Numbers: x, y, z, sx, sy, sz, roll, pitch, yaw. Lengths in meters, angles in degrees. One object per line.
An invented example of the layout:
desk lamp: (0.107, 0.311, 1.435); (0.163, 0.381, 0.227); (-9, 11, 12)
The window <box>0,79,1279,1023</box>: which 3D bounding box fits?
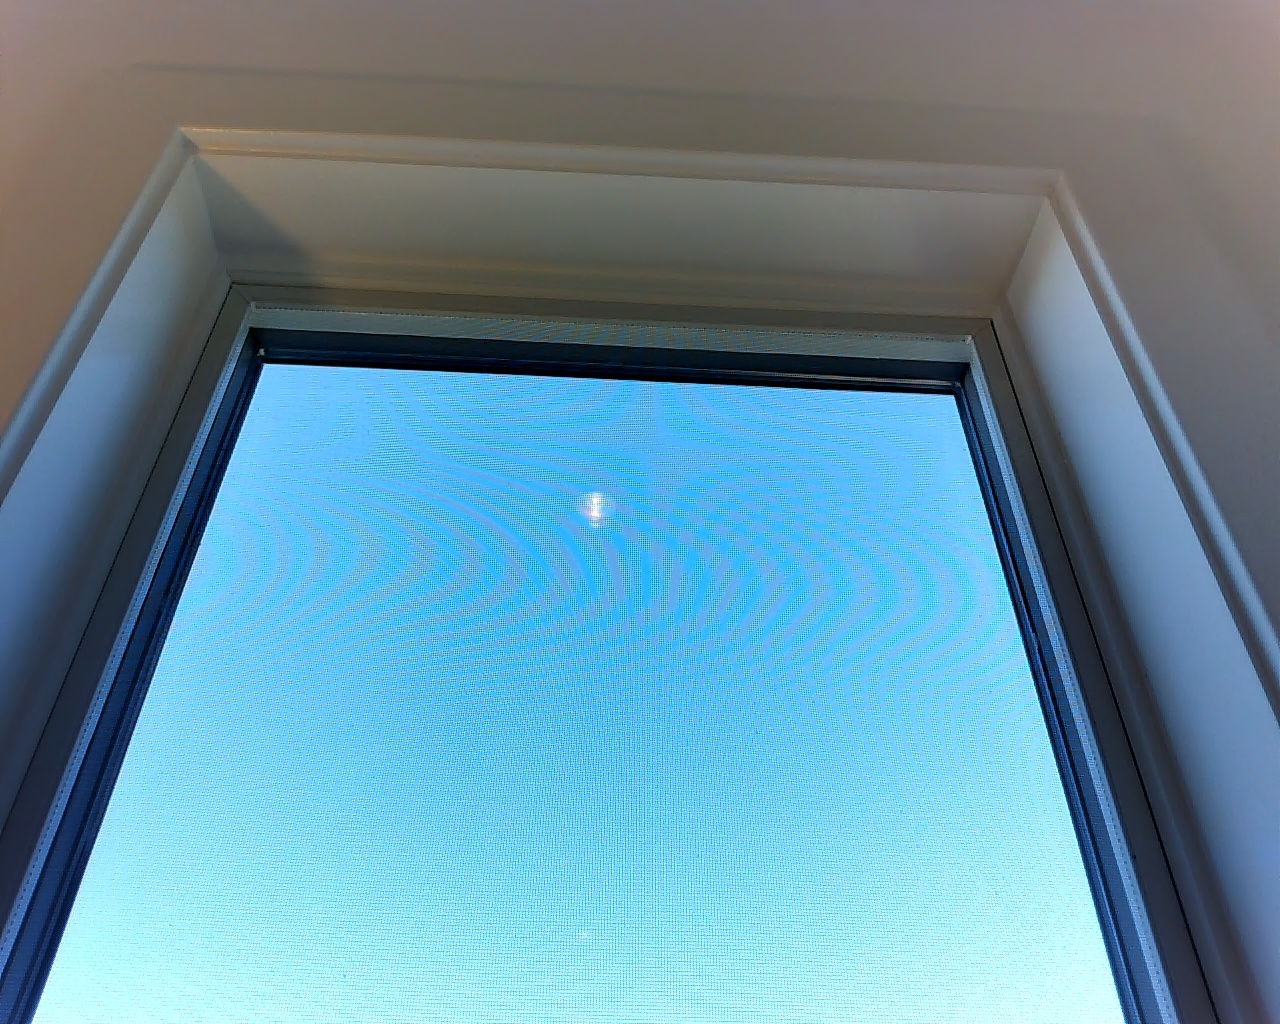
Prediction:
window: (0.010, 0.360, 0.450); (0.820, 1.630, 0.260); (3, -42, -2)
